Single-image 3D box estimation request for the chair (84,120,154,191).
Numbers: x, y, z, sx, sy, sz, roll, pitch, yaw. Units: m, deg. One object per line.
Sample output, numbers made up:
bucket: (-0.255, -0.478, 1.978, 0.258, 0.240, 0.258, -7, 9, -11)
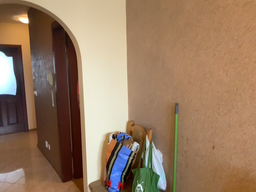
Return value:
chair: (-0.080, 0.770, 1.950, 0.490, 0.980, 0.390, -6, 10, -33)
